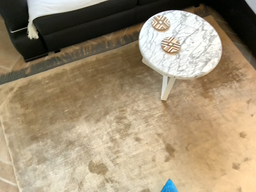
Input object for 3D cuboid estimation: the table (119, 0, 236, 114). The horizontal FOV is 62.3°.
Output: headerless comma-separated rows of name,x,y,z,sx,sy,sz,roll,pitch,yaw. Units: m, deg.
table,0.250,-0.230,1.290,0.450,0.360,0.450,-21,70,-13
